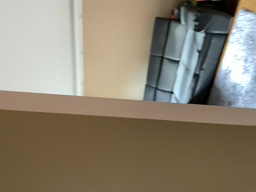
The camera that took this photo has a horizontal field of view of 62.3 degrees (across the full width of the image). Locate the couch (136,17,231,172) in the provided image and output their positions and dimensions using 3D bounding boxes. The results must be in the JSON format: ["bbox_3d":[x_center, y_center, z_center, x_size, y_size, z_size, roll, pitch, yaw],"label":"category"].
[{"bbox_3d":[0.830,0.030,4.100,1.100,0.980,2.720,-95,10,-63],"label":"couch"}]
